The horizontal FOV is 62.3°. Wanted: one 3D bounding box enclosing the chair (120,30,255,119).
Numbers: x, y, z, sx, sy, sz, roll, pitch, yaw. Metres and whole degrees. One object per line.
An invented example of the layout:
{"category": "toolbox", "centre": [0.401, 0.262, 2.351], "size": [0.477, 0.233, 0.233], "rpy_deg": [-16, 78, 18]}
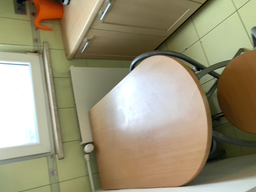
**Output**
{"category": "chair", "centre": [0.380, -0.110, 1.280], "size": [0.350, 0.730, 0.340], "rpy_deg": [-34, 64, 54]}

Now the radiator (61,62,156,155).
{"category": "radiator", "centre": [-0.150, 0.070, 1.740], "size": [0.130, 0.680, 0.670], "rpy_deg": [-32, 66, 55]}
